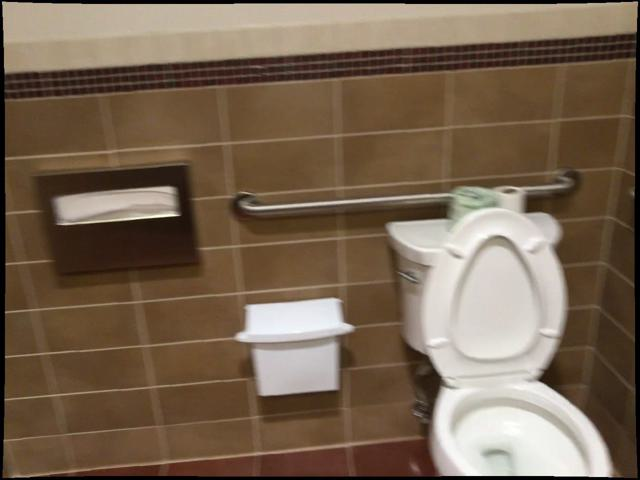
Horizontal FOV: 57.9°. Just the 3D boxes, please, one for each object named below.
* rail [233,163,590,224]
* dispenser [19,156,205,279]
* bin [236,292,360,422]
[{"bbox_3d":[0.250,-0.130,1.600,0.969,0.070,0.070,-5,23,-2],"label":"rail"},{"bbox_3d":[-0.549,-0.060,1.570,0.420,0.290,0.080,-5,23,-2],"label":"dispenser"},{"bbox_3d":[-0.060,0.350,1.730,0.330,0.340,0.130,-5,23,-2],"label":"bin"}]
